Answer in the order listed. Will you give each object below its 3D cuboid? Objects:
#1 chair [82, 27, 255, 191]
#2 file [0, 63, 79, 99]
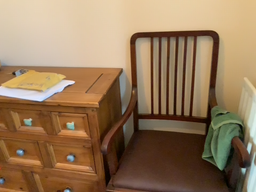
[{"bbox_3d":[0.230,0.230,1.090,0.590,1.030,0.590,4,28,12],"label":"chair"},{"bbox_3d":[-0.460,-0.090,1.090,0.310,0.060,0.280,5,28,15],"label":"file"}]
